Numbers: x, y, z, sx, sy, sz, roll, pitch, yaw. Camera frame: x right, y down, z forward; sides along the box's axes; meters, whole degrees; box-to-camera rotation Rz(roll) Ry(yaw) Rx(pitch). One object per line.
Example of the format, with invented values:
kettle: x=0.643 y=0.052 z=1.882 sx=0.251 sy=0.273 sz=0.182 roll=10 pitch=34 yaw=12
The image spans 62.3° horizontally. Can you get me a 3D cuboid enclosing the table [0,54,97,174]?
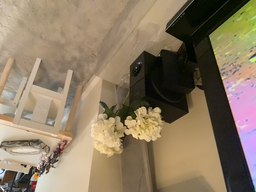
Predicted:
table: x=-0.770 y=0.230 z=1.830 sx=0.620 sy=0.560 sz=0.870 roll=21 pitch=139 yaw=-26
